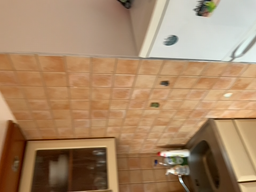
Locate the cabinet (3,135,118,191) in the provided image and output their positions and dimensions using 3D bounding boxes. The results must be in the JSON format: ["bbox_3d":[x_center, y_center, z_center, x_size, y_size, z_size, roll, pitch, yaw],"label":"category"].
[{"bbox_3d":[-0.400,0.700,1.340,0.370,0.640,0.800,106,162,-53],"label":"cabinet"}]

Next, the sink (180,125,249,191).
[{"bbox_3d":[0.590,0.500,1.550,0.410,0.180,0.430,106,162,-53],"label":"sink"}]
